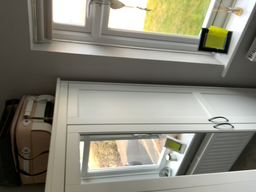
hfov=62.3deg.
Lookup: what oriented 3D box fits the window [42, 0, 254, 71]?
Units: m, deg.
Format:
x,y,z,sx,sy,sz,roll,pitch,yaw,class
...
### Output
x,y,z,sx,sy,sz,roll,pitch,yaw,class
0.220,-0.850,1.320,0.180,1.420,1.400,-110,26,-51,window
